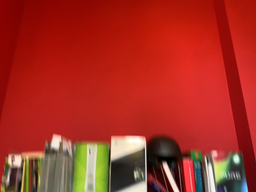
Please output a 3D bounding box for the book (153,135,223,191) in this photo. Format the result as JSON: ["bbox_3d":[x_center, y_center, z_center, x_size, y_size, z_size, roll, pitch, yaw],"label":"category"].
[{"bbox_3d":[0.330,0.440,1.300,0.310,0.330,0.400,-1,-21,1],"label":"book"}]

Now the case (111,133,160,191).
[{"bbox_3d":[0.040,0.430,1.280,0.240,0.330,0.420,-1,-21,1],"label":"case"}]

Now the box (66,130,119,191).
[{"bbox_3d":[-0.190,0.430,1.300,0.230,0.360,0.410,-1,-21,3],"label":"box"}]
